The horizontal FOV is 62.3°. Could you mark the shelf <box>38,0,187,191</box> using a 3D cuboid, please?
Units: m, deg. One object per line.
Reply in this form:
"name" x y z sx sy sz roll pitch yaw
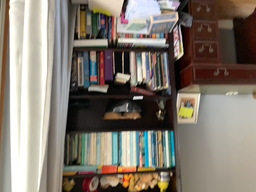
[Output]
"shelf" -0.120 0.220 1.670 1.020 1.980 0.320 -1 173 -9
